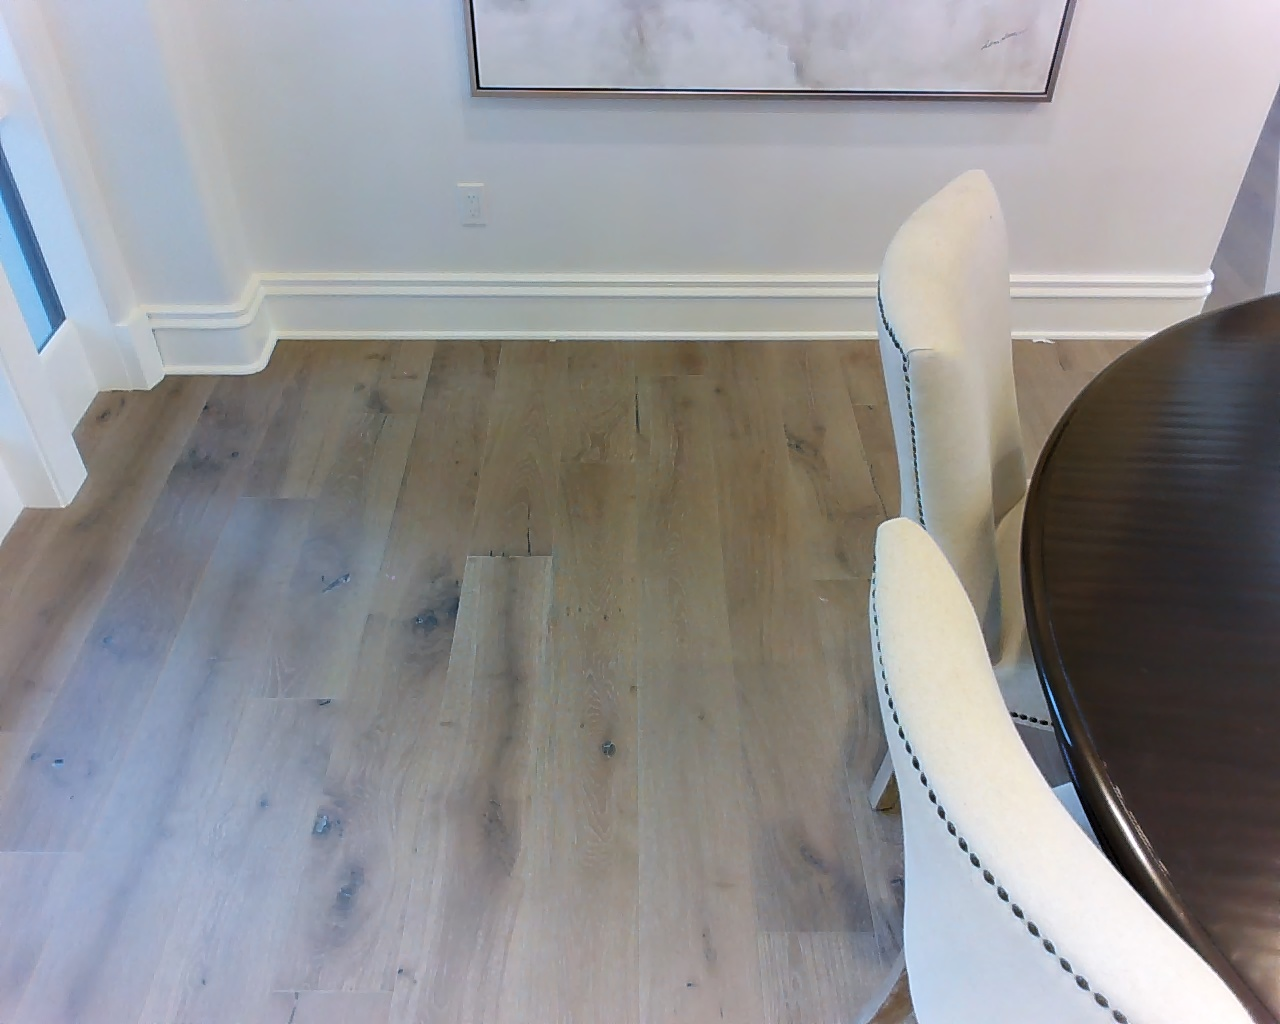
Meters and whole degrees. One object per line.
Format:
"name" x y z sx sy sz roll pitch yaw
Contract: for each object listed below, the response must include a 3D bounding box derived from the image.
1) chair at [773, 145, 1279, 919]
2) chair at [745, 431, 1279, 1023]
"chair" 0.610 0.050 1.710 0.570 0.990 0.560 16 44 17
"chair" 0.530 0.510 1.200 0.640 0.990 0.630 -5 42 -6
